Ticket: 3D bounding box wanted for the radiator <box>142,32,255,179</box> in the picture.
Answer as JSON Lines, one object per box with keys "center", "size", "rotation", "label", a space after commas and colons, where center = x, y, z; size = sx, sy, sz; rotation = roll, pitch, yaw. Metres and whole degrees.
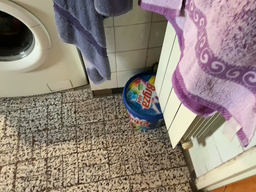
{"center": [0.200, 0.080, 0.770], "size": [0.150, 0.490, 0.320], "rotation": [-16, 63, -11], "label": "radiator"}
